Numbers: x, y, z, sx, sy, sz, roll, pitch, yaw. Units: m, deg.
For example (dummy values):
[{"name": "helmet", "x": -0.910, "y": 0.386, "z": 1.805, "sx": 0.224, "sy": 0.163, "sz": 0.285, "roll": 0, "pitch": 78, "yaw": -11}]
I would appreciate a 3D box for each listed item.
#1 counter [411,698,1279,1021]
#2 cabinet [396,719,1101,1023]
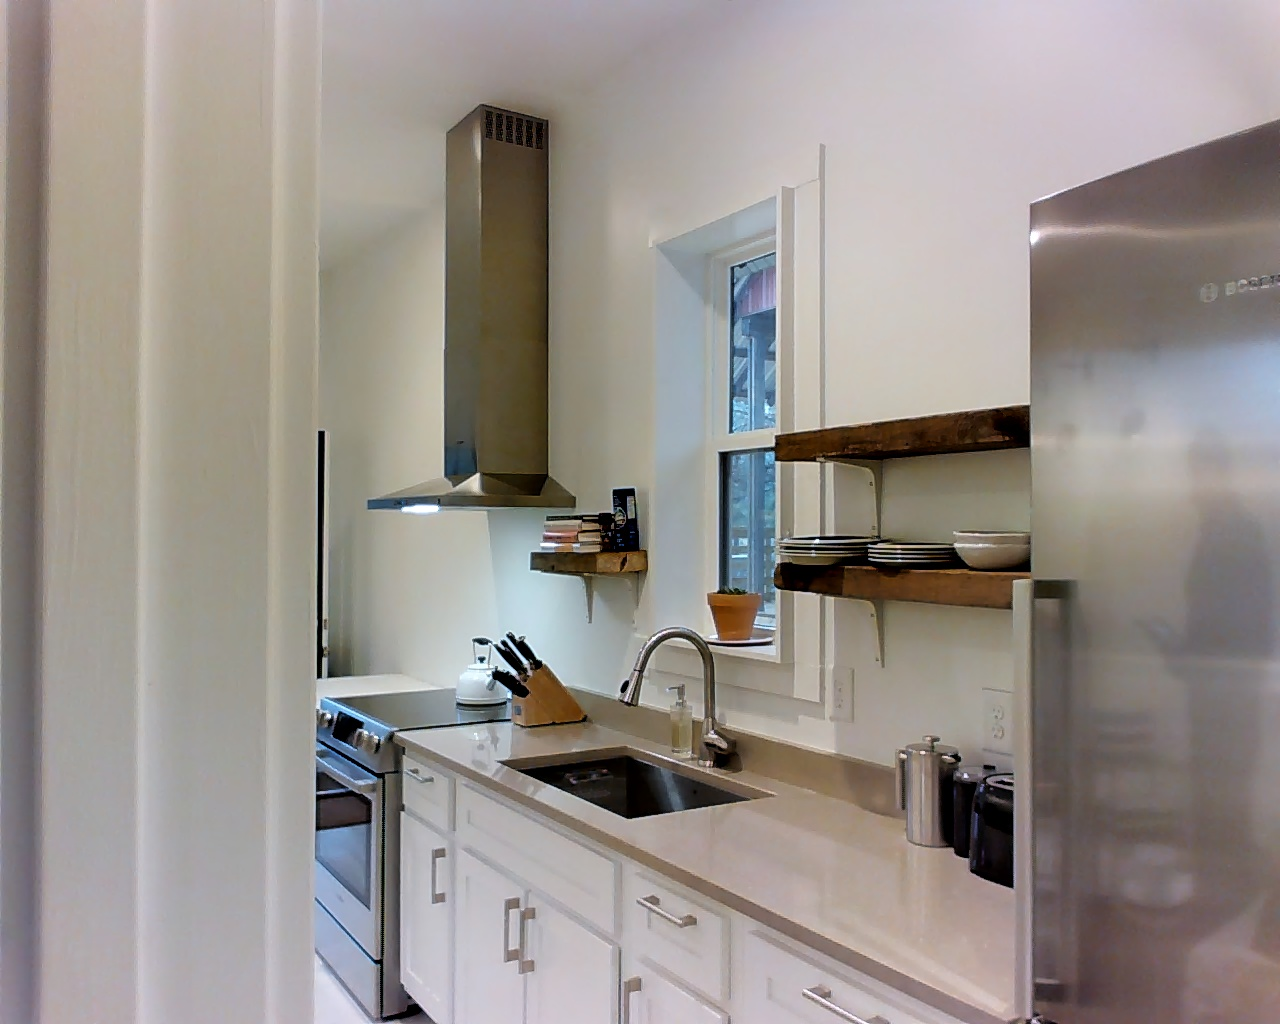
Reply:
[{"name": "counter", "x": 0.160, "y": 0.660, "z": 2.590, "sx": 0.630, "sy": 0.040, "sz": 2.380, "roll": 0, "pitch": -1, "yaw": -32}, {"name": "cabinet", "x": -0.070, "y": 1.110, "z": 2.360, "sx": 0.070, "sy": 0.900, "sz": 2.590, "roll": 0, "pitch": -1, "yaw": -32}]
